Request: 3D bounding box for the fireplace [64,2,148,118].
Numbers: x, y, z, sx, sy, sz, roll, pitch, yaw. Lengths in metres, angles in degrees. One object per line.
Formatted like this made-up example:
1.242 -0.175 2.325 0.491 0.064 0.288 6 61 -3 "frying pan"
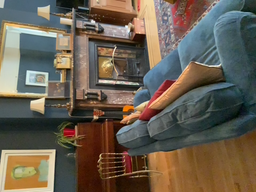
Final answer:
-0.420 -0.590 3.710 0.490 1.270 1.890 137 132 -63 "fireplace"
